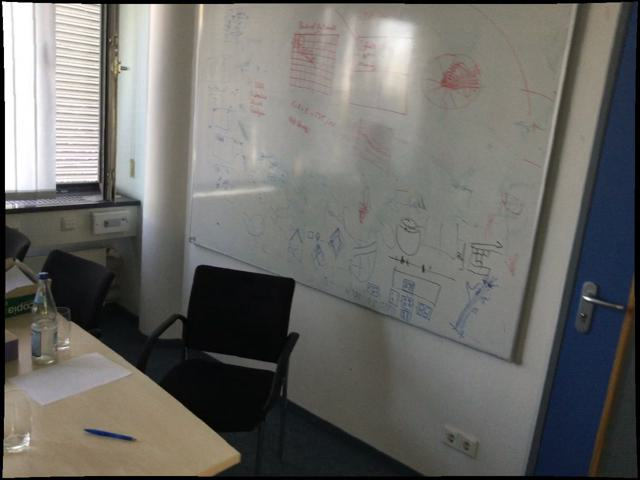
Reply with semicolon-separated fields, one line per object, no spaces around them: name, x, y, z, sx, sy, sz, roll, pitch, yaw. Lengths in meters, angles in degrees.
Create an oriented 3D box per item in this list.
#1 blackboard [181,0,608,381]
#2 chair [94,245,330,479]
blackboard;0.050;-0.470;2.600;2.109;1.461;0.190;18;21;41
chair;-0.390;0.490;2.330;0.679;0.701;0.700;7;16;11
